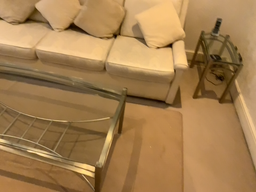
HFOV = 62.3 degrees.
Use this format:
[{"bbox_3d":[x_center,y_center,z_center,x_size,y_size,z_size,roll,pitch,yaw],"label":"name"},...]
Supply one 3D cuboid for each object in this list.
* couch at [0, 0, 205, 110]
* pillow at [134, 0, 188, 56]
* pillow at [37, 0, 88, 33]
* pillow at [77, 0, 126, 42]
[{"bbox_3d":[-0.380,-0.640,2.160,1.920,0.810,0.940,10,42,1],"label":"couch"},{"bbox_3d":[0.340,-0.690,2.100,0.390,0.410,0.180,-41,54,4],"label":"pillow"},{"bbox_3d":[-0.640,-0.860,2.090,0.360,0.310,0.160,18,9,-44],"label":"pillow"},{"bbox_3d":[-0.250,-0.750,2.100,0.420,0.370,0.160,9,67,-1],"label":"pillow"}]
